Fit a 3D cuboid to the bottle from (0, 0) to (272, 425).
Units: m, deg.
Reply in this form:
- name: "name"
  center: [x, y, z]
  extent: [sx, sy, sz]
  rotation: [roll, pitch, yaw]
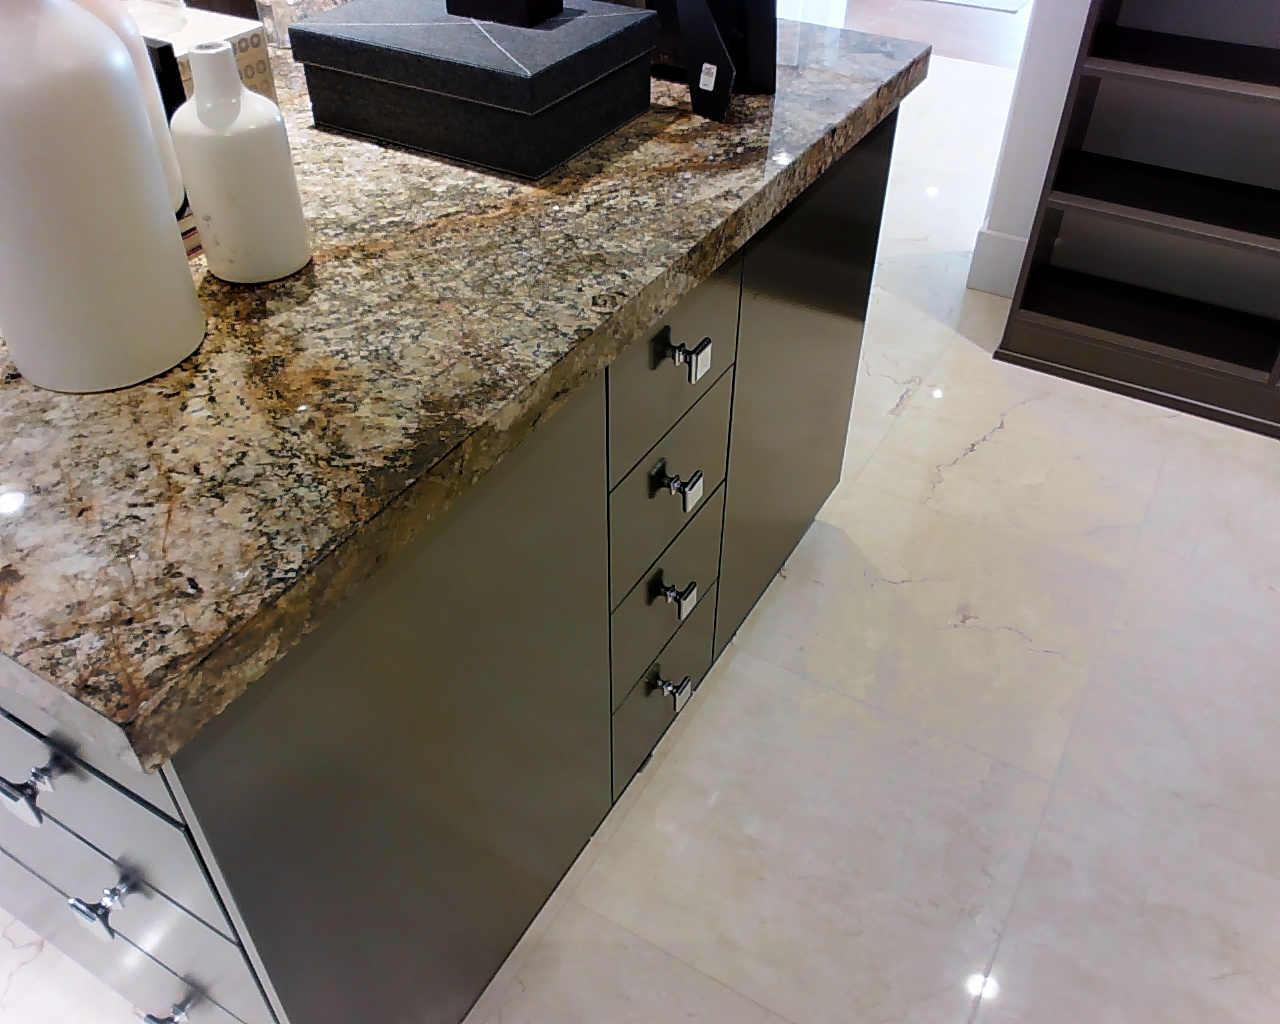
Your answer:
- name: "bottle"
  center: [-0.520, -0.320, 0.930]
  extent: [0.220, 0.380, 0.220]
  rotation: [24, 46, 25]

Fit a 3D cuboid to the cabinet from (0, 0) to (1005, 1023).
- name: "cabinet"
  center: [-0.550, -0.190, 1.840]
  extent: [1.600, 1.070, 1.780]
  rotation: [22, 45, 23]
